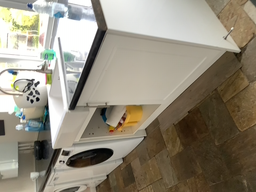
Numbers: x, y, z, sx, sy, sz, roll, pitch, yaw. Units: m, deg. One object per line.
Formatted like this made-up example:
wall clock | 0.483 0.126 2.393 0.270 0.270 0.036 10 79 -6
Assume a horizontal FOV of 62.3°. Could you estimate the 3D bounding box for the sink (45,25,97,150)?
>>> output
sink | -0.510 -0.060 1.740 0.610 0.200 0.790 -53 45 47
